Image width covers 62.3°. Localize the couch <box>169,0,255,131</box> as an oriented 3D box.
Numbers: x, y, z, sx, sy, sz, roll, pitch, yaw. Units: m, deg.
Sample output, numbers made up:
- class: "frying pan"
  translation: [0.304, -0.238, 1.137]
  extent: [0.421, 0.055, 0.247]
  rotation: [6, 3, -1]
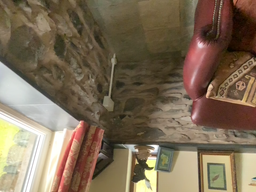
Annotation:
- class: "couch"
  translation: [0.700, -0.290, 1.450]
  extent: [0.690, 0.800, 0.840]
  rotation: [4, 155, 2]
